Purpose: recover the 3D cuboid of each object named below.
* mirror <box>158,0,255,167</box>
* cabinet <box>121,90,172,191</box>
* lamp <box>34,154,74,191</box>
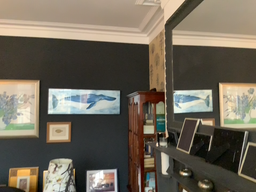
[{"bbox_3d":[0.570,-0.280,1.410,0.160,1.260,1.650,0,-3,-12],"label":"mirror"},{"bbox_3d":[0.210,0.880,3.040,0.470,1.850,0.990,0,-3,-10],"label":"cabinet"},{"bbox_3d":[-0.750,0.970,2.210,0.350,0.630,0.380,0,-3,-12],"label":"lamp"}]
